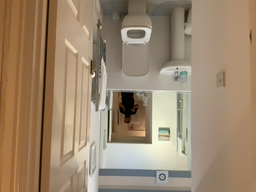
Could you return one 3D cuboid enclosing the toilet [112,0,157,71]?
[{"bbox_3d":[0.060,-0.750,2.380,0.430,0.830,0.620,1,178,0],"label":"toilet"}]
